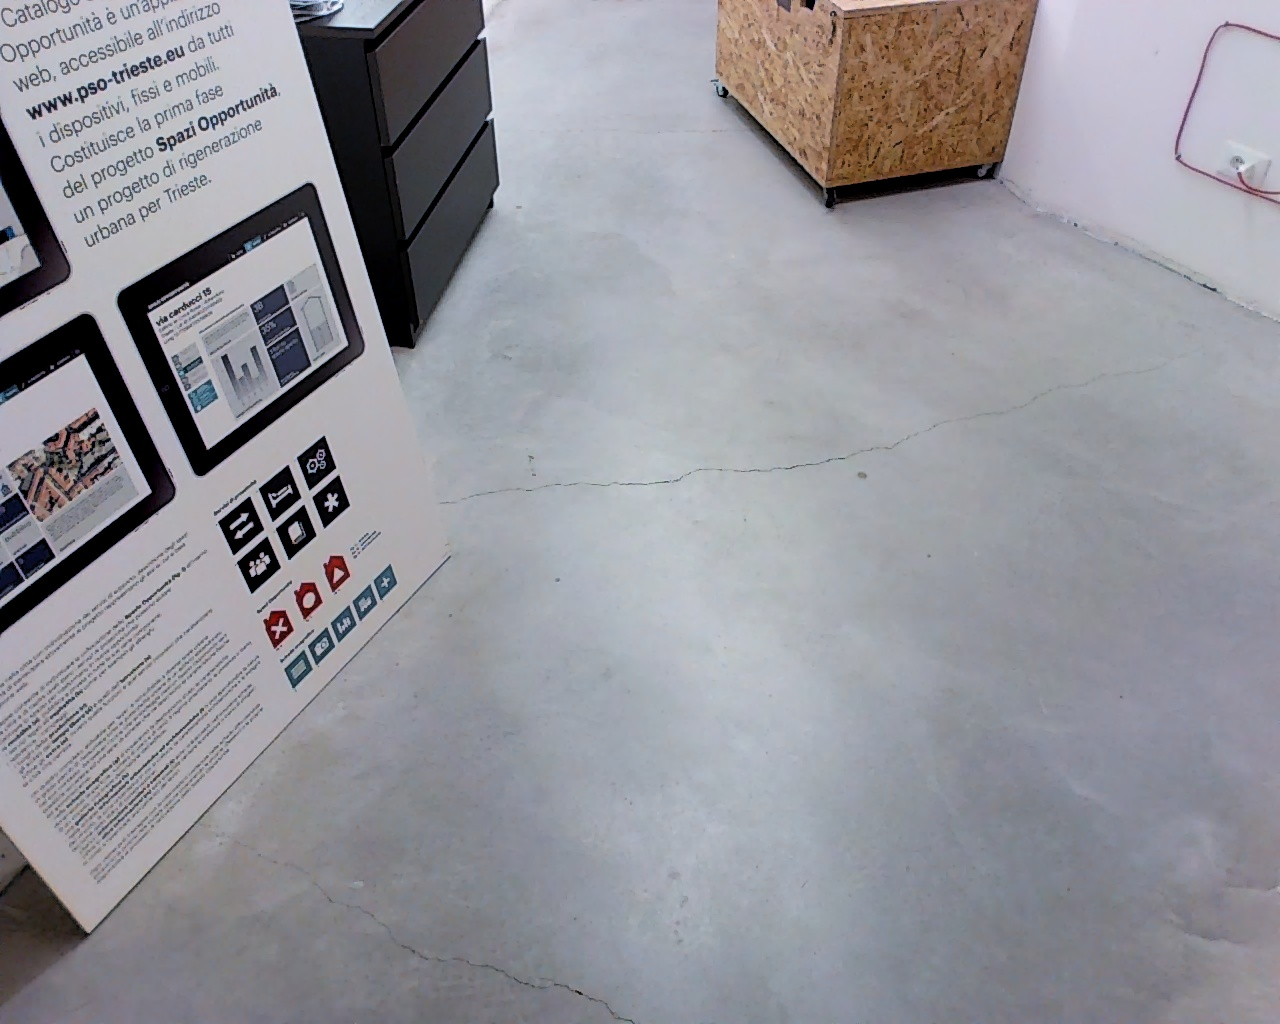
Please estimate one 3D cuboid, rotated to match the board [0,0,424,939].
[{"bbox_3d":[-0.640,-0.130,1.480,0.060,1.180,0.920,20,38,21],"label":"board"}]
